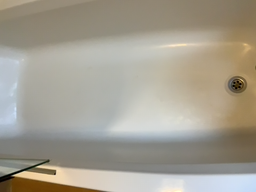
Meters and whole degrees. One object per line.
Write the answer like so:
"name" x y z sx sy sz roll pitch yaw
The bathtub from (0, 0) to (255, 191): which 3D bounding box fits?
"bathtub" -0.080 -0.010 0.910 1.850 0.560 0.690 -2 85 21
